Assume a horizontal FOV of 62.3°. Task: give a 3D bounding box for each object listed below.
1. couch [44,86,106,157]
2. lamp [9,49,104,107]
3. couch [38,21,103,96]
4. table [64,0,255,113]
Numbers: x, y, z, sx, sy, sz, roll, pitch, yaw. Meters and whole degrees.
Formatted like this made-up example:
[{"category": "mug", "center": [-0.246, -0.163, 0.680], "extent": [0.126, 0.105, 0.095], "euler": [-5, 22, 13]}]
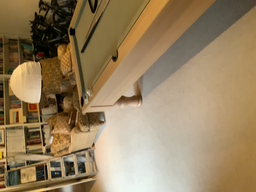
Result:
[{"category": "couch", "center": [-1.070, 0.480, 4.050], "extent": [1.080, 0.820, 0.820], "euler": [-59, 43, 42]}, {"category": "lamp", "center": [-1.300, -0.280, 3.810], "extent": [0.740, 1.450, 0.700], "euler": [-37, 60, 54]}, {"category": "couch", "center": [-1.250, -0.630, 4.300], "extent": [1.630, 0.830, 0.860], "euler": [-27, 68, 57]}, {"category": "table", "center": [0.090, -0.810, 2.030], "extent": [2.080, 0.790, 1.250], "euler": [-43, 55, 52]}]
